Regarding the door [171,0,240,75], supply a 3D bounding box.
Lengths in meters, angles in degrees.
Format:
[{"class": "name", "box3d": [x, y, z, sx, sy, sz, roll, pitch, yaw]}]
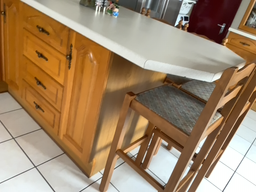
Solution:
[{"class": "door", "box3d": [1.370, -1.400, 3.540, 0.730, 1.980, 0.030, 34, 33, 30]}]

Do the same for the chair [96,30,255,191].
[{"class": "chair", "box3d": [0.200, 0.200, 1.130, 0.410, 0.970, 0.410, 35, 33, 31]}]
